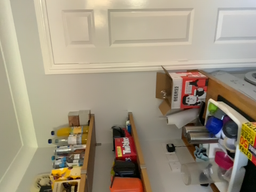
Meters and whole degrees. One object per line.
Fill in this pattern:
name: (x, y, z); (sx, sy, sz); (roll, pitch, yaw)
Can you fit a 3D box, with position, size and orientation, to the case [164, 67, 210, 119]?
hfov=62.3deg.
case: (0.430, -0.030, 1.600); (0.210, 0.250, 0.330); (-105, 13, -67)
